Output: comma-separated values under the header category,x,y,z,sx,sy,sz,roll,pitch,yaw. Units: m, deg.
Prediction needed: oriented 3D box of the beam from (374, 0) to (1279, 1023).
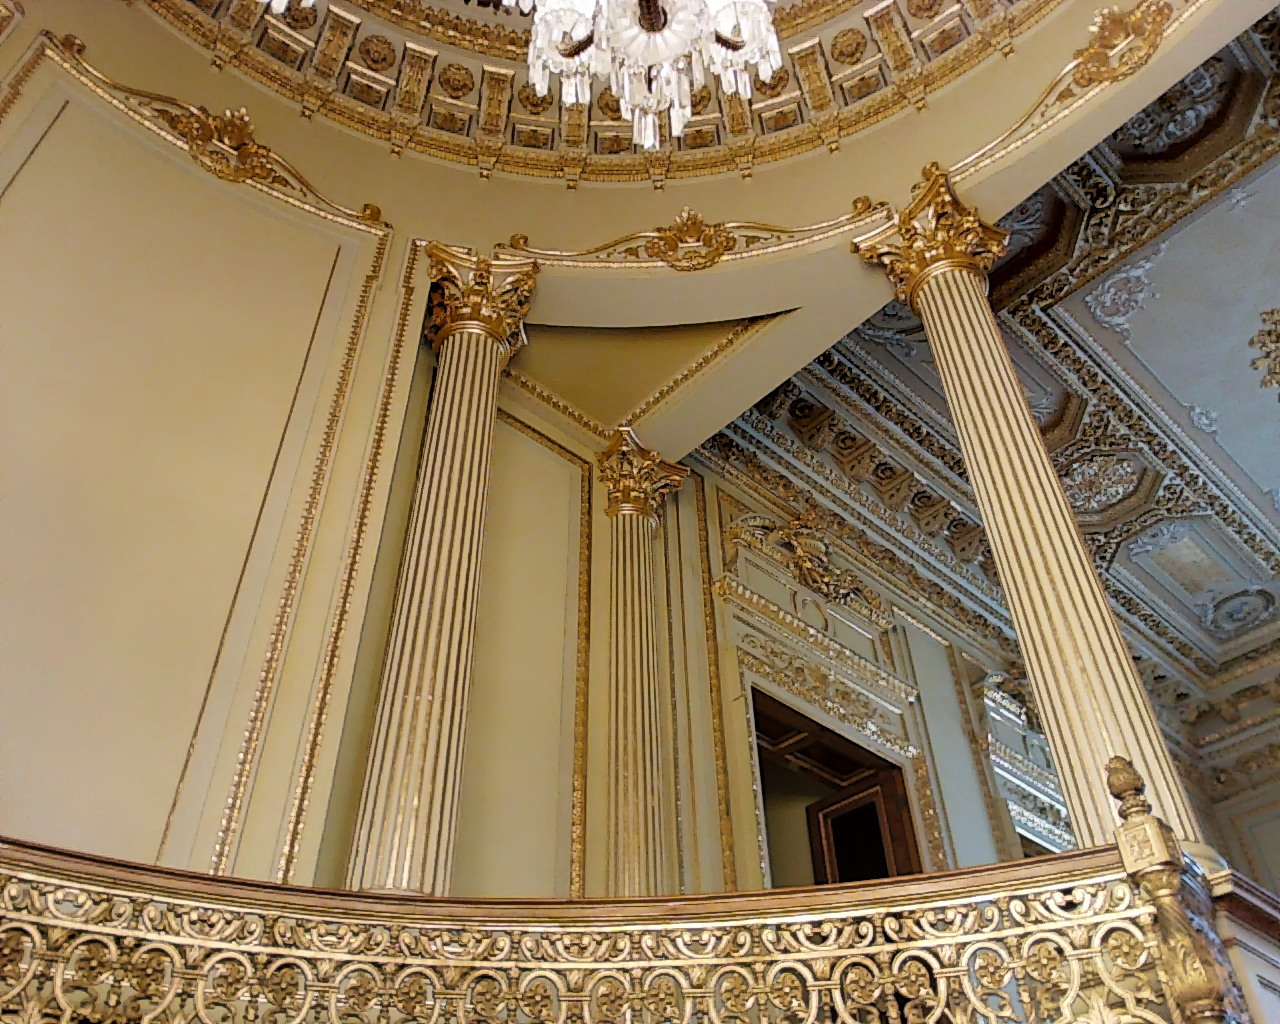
category,x,y,z,sx,sy,sz,roll,pitch,yaw
beam,1.979,-1.071,3.750,1.680,4.282,6.889,31,-51,-30
